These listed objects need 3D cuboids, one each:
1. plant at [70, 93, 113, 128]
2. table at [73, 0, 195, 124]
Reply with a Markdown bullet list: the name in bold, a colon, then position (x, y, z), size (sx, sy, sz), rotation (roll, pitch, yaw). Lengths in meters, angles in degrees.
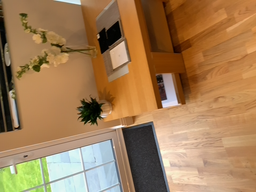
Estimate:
- **plant**: position (-0.310, 0.120, 1.760), size (0.270, 0.220, 0.220), rotation (-20, 80, 51)
- **table**: position (-0.020, -0.420, 1.810), size (0.790, 0.400, 1.170), rotation (-21, 79, 51)
